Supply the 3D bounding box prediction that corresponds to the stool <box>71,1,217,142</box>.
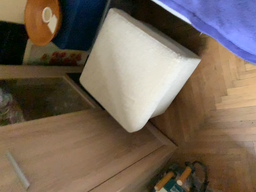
[{"bbox_3d":[0.080,-0.130,1.100,0.430,0.450,0.450,42,119,25],"label":"stool"}]
